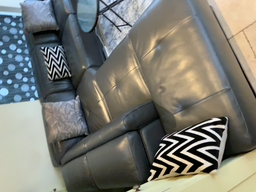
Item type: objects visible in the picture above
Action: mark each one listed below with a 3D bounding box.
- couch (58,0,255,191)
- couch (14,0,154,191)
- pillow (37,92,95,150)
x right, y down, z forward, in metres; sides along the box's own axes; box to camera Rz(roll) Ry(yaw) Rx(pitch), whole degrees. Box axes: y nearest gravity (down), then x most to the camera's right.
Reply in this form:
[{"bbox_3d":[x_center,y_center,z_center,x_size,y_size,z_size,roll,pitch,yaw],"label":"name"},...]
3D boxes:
[{"bbox_3d":[0.140,0.020,1.580,1.340,0.760,1.040,-37,67,51],"label":"couch"},{"bbox_3d":[-0.770,-0.420,2.760,1.070,0.750,2.980,-37,67,51],"label":"couch"},{"bbox_3d":[-0.710,0.280,2.450,0.510,0.400,0.170,55,142,1],"label":"pillow"}]
